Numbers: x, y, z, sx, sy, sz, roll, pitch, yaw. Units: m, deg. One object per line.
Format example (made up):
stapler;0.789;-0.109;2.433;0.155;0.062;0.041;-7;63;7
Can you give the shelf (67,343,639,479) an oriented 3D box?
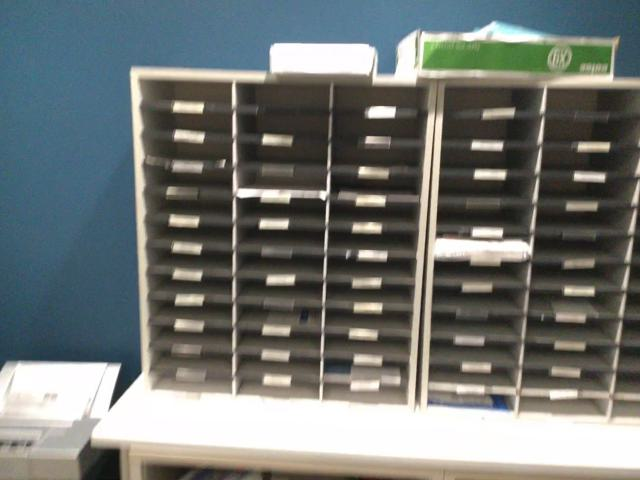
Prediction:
shelf;0.250;0.800;1.580;1.650;0.790;0.490;3;12;4
